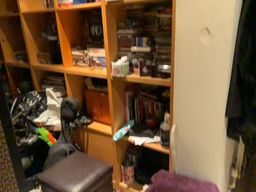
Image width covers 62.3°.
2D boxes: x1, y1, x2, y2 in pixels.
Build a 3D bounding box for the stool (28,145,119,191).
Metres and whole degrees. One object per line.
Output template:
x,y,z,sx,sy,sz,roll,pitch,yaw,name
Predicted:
-0.410,0.740,1.700,0.470,0.400,0.470,10,23,33,stool
